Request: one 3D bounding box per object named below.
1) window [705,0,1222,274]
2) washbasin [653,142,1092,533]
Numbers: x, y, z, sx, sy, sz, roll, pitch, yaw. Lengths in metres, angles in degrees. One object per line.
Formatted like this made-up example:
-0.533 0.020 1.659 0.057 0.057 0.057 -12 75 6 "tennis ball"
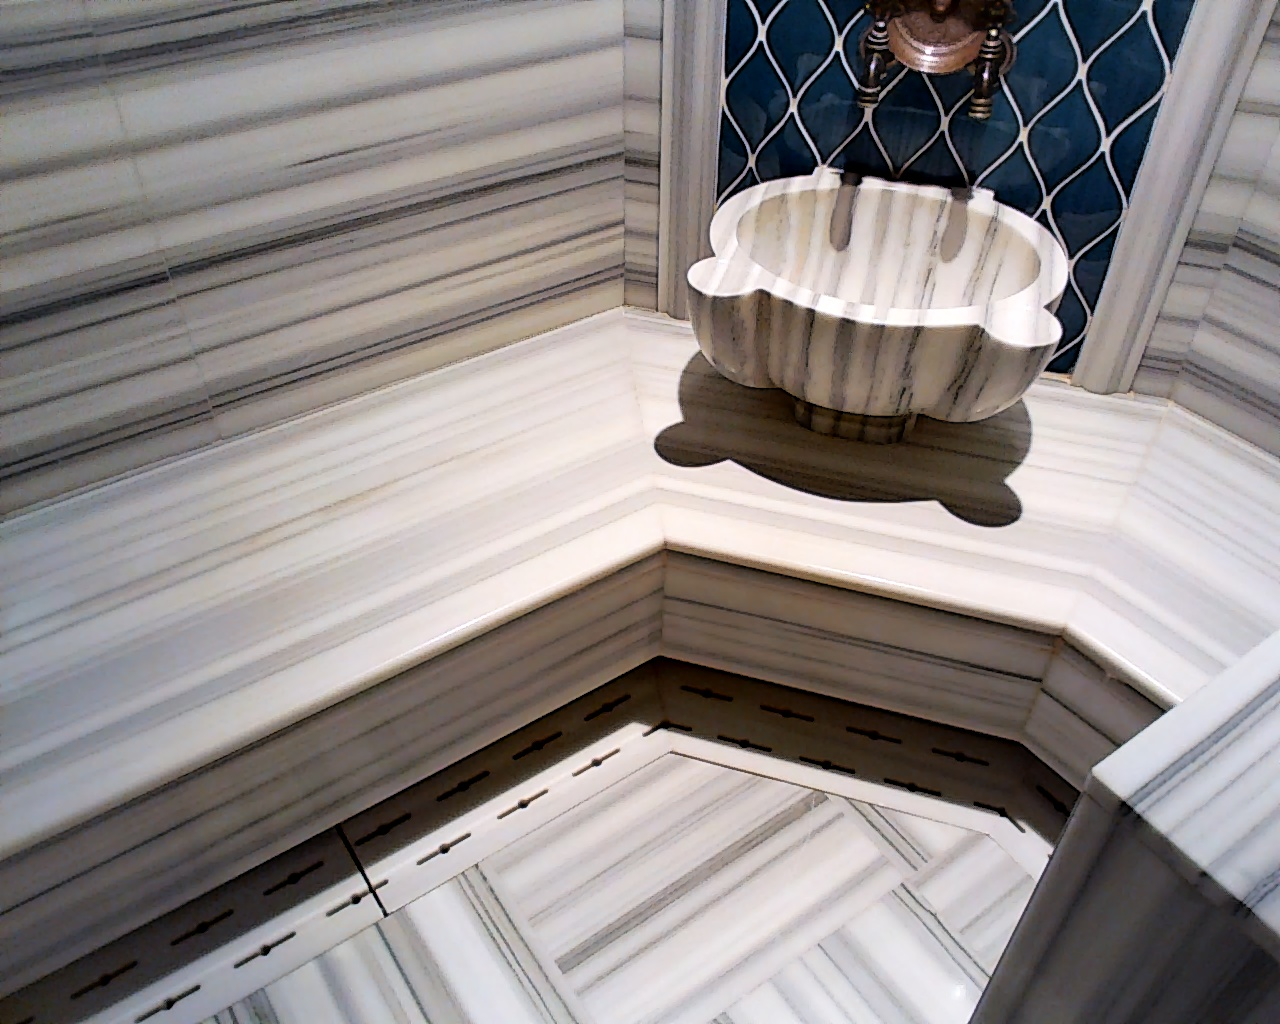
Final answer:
0.480 -0.990 1.470 0.740 1.340 0.040 12 43 13 "window"
0.380 -0.310 1.780 0.600 0.350 0.470 12 43 13 "washbasin"
